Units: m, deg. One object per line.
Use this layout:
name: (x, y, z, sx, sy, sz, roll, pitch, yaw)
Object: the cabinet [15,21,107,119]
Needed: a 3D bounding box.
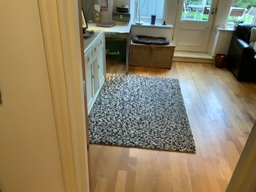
cabinet: (-0.750, -0.450, 2.890, 0.690, 0.820, 1.350, 5, 29, 3)
